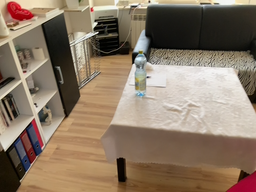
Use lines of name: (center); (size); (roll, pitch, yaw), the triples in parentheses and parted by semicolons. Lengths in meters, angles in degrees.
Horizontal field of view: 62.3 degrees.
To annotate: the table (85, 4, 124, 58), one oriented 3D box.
table: (-0.380, -1.080, 3.550); (0.570, 0.780, 0.310); (-7, 34, -9)
